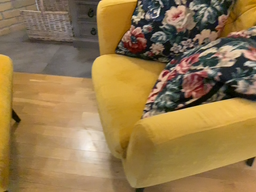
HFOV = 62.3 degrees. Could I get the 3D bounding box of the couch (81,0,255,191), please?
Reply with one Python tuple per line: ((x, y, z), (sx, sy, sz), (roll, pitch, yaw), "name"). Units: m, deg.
((0.350, -0.150, 0.890), (0.990, 1.050, 0.850), (-8, 43, -11), "couch")
